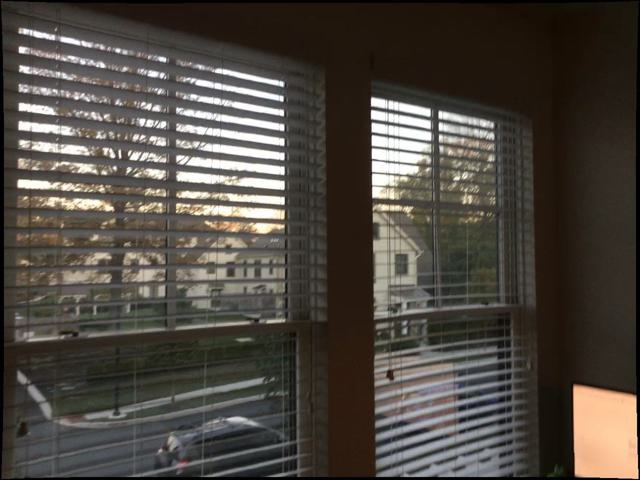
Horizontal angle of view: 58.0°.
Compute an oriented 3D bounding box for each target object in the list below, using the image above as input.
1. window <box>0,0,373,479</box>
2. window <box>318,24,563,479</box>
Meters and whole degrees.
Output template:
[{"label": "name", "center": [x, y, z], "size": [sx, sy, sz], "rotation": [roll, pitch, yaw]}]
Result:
[{"label": "window", "center": [-0.389, 0.221, 1.480], "size": [1.068, 1.774, 0.300], "rotation": [-3, 2, -33]}, {"label": "window", "center": [0.489, 0.271, 2.080], "size": [1.028, 1.864, 0.150], "rotation": [-3, 2, -33]}]
